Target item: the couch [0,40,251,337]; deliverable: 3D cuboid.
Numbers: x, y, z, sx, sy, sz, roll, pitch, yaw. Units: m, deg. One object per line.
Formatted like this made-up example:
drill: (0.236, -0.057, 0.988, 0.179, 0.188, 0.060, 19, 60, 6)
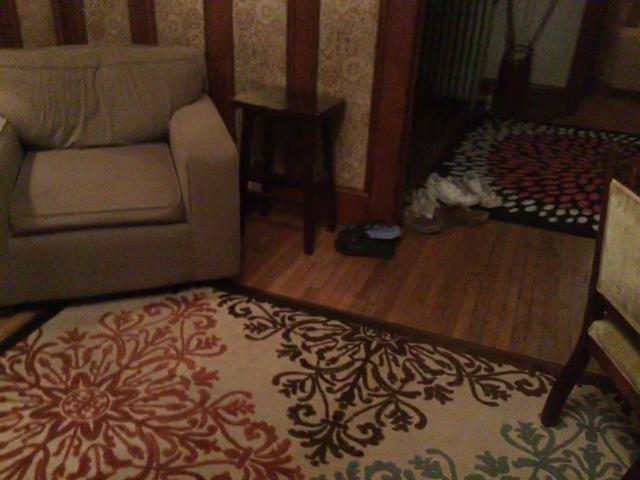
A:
couch: (-0.880, -0.260, 2.270, 1.040, 0.870, 0.760, -8, 28, -18)
